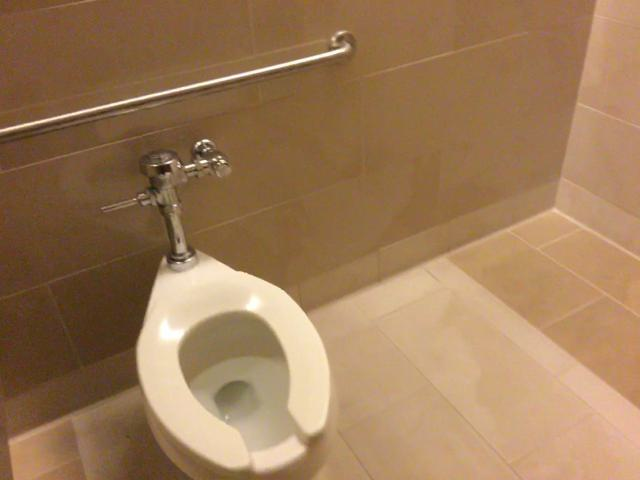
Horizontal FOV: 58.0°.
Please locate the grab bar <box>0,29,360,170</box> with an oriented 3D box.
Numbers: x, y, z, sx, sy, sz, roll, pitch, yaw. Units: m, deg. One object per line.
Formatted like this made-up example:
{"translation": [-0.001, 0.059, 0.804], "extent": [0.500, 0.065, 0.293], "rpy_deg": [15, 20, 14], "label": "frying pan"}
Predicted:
{"translation": [-0.320, -0.320, 1.280], "extent": [0.920, 0.080, 0.070], "rpy_deg": [-22, 38, -21], "label": "grab bar"}
